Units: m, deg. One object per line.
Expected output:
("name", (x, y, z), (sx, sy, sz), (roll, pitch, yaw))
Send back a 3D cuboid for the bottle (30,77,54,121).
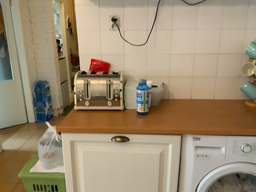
("bottle", (-1.320, 0.050, 3.290), (0.210, 0.640, 0.240), (0, 16, 1))
